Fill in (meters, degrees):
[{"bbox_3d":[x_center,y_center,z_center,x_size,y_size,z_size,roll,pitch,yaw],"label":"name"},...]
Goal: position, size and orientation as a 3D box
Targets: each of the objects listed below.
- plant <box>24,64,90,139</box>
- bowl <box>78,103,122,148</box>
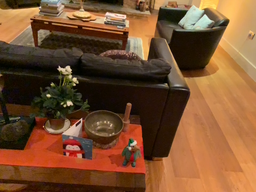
[{"bbox_3d":[-0.340,0.030,1.090,0.260,0.300,0.210,5,35,-7],"label":"plant"},{"bbox_3d":[-0.140,0.150,1.110,0.210,0.100,0.210,5,35,-6],"label":"bowl"}]
